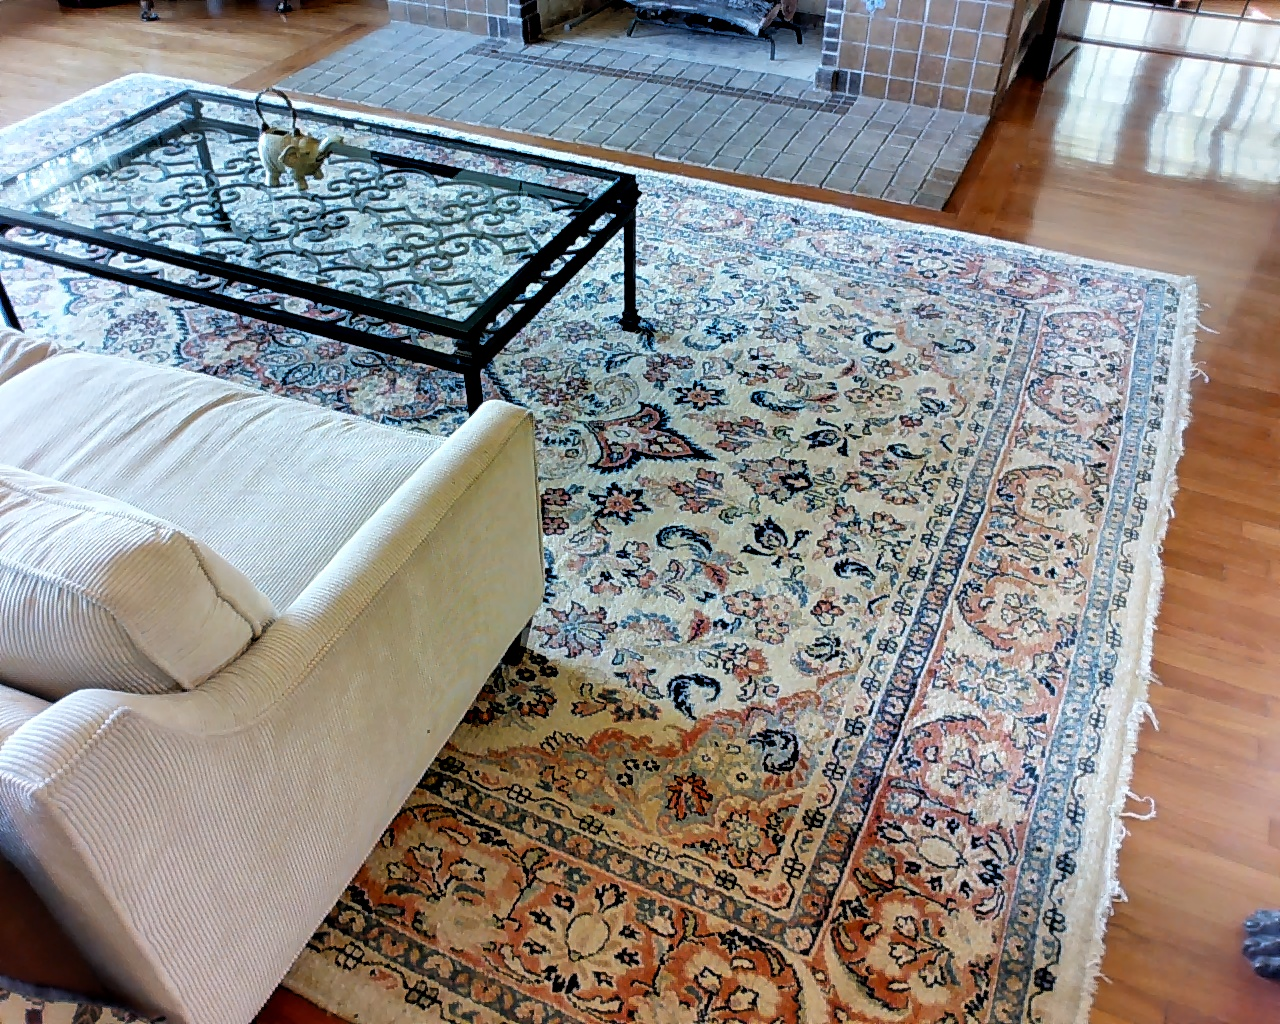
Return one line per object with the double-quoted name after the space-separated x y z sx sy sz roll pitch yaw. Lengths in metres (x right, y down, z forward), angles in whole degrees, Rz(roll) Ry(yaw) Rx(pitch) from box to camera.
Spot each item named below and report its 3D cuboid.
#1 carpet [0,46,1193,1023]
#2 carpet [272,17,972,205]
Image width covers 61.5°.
-0.860 -0.430 2.830 4.190 0.070 2.930 17 44 17 "carpet"
-0.120 -1.590 4.120 2.630 0.040 0.690 17 44 17 "carpet"
